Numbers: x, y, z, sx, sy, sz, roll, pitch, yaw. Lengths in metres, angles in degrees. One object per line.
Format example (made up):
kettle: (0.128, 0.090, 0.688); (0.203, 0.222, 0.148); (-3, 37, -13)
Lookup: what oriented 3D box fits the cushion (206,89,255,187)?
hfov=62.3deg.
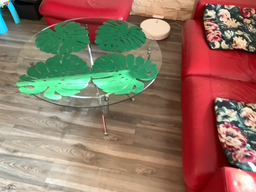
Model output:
cushion: (0.650, 0.190, 0.990); (0.480, 0.100, 0.450); (7, 48, 4)

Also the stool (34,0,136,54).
stool: (-0.390, -0.880, 2.270); (0.840, 0.420, 0.650); (11, 49, 7)

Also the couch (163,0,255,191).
couch: (0.860, -0.070, 1.340); (1.060, 0.840, 1.750); (9, 48, 5)
